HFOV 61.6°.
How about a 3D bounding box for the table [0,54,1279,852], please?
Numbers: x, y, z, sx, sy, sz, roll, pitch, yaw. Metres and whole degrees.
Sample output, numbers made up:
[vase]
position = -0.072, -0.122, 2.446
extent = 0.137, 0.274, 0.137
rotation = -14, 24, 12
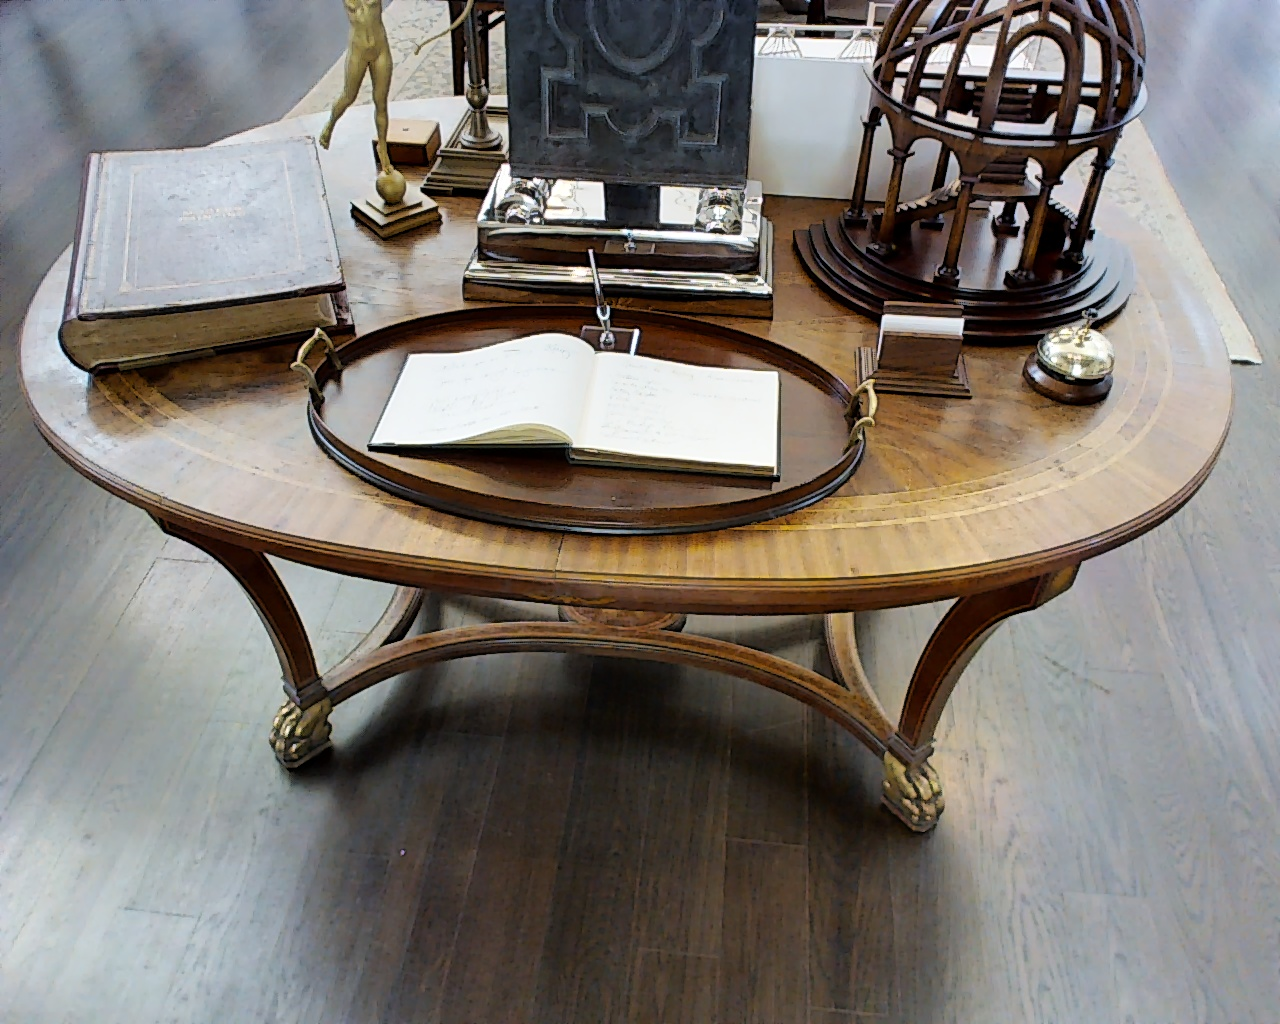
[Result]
[table]
position = -0.010, -0.150, 1.800
extent = 1.560, 0.800, 0.960
rotation = 4, 43, 4
